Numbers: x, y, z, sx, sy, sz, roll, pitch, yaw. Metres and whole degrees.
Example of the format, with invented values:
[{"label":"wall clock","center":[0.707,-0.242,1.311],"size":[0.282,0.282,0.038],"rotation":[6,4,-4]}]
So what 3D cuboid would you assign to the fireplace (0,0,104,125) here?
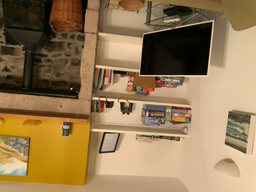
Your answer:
[{"label":"fireplace","center":[-1.400,-0.600,2.740],"size":[2.020,1.700,0.790],"rotation":[5,-178,-6]}]
